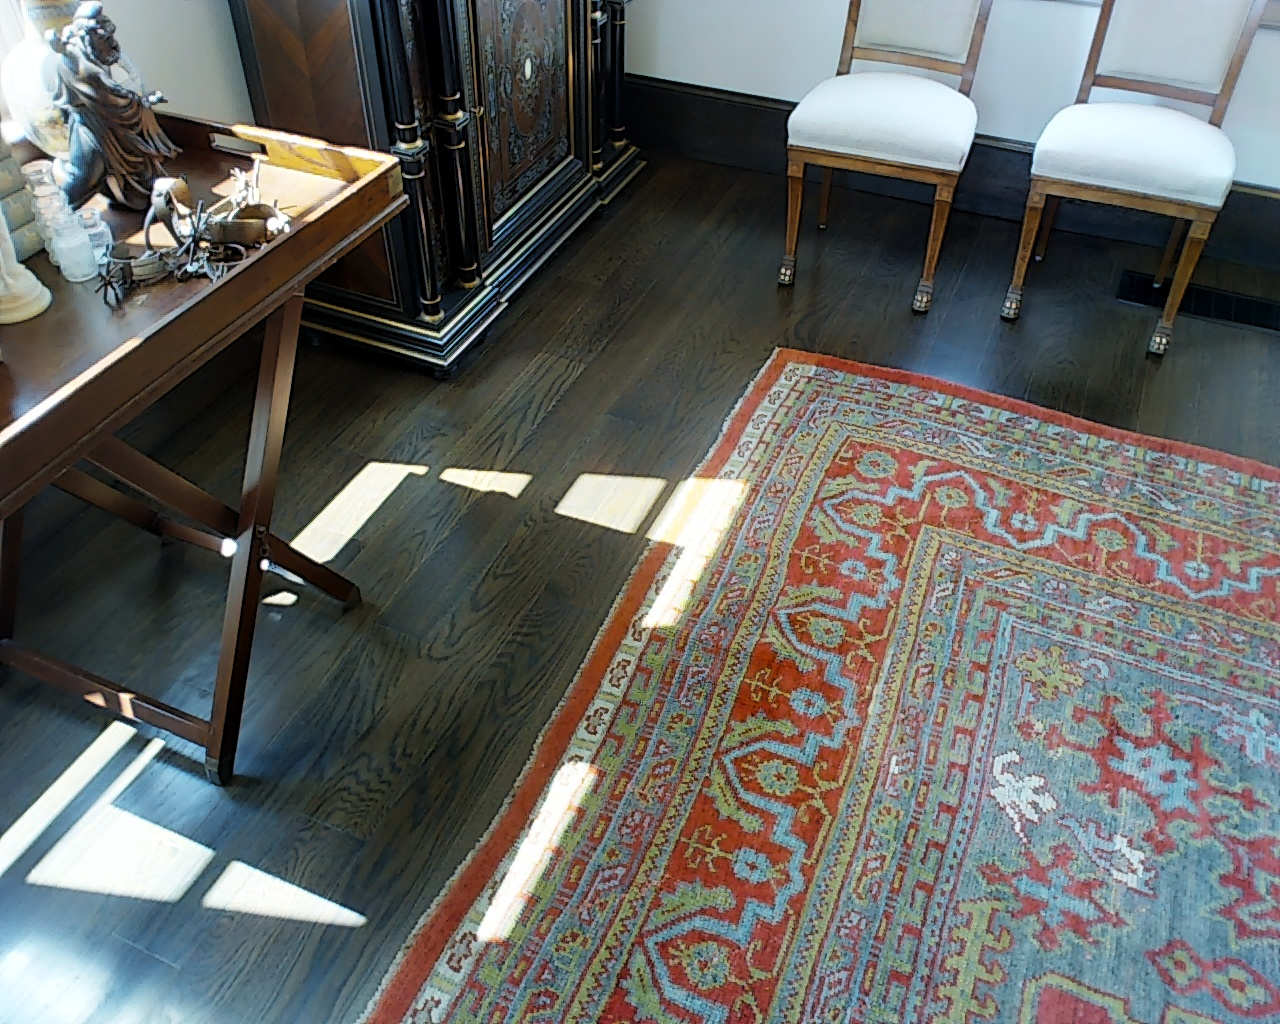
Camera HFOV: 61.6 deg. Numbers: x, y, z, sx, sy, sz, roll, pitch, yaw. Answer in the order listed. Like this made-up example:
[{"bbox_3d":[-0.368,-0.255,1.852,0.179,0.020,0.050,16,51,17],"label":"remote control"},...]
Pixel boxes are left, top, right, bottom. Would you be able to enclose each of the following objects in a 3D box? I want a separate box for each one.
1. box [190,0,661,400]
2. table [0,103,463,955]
[{"bbox_3d":[-0.420,-1.160,2.670,0.500,1.180,1.270,16,44,17],"label":"box"},{"bbox_3d":[-0.900,-0.050,1.740,0.730,0.760,1.000,17,44,17],"label":"table"}]
